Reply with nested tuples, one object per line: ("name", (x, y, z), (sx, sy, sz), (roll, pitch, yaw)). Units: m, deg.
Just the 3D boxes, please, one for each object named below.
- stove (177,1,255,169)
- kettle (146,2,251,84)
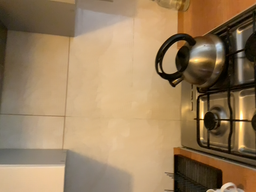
("stove", (0.430, -0.020, 0.830), (0.600, 0.190, 0.510), (163, 111, -74))
("kettle", (0.260, -0.180, 0.850), (0.290, 0.280, 0.210), (167, 107, -75))
